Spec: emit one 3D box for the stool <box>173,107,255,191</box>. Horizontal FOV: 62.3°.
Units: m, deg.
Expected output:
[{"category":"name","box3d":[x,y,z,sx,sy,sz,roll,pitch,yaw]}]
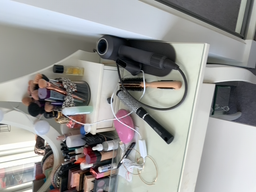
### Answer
[{"category":"stool","box3d":[0.490,0.290,0.950,0.320,0.460,0.410,13,99,47]}]
